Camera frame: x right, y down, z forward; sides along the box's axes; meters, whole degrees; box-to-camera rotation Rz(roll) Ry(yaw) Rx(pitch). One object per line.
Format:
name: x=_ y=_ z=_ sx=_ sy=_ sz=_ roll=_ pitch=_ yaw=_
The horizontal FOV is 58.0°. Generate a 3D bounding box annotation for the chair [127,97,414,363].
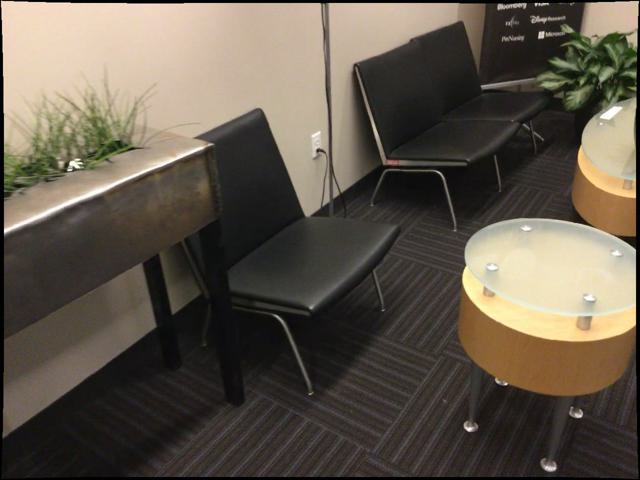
chair: x=-0.140 y=-0.090 z=2.000 sx=0.689 sy=0.521 sz=0.620 roll=20 pitch=40 yaw=31

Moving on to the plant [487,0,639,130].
plant: x=1.606 y=-1.083 z=3.350 sx=0.869 sy=0.411 sz=1.000 roll=20 pitch=40 yaw=31

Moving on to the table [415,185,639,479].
table: x=0.609 y=0.231 z=1.630 sx=0.489 sy=0.521 sz=0.470 roll=20 pitch=40 yaw=31
